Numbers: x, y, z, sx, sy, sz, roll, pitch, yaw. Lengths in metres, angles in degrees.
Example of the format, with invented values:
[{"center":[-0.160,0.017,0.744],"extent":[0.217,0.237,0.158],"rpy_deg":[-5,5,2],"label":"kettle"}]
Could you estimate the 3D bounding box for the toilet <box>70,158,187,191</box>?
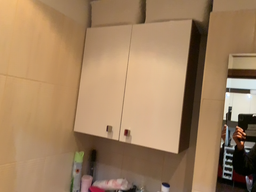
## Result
[{"center":[-0.010,0.520,1.160],"extent":[0.580,0.190,0.240],"rpy_deg":[6,-2,30],"label":"toilet"}]
